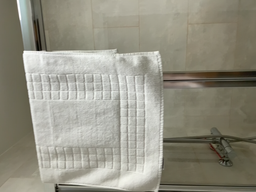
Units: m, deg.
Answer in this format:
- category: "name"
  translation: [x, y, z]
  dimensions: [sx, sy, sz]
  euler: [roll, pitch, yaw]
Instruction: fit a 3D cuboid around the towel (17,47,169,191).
- category: "towel"
  translation: [-0.100, 0.090, 0.730]
  dimensions: [0.100, 0.460, 0.490]
  euler: [-71, -20, -77]
